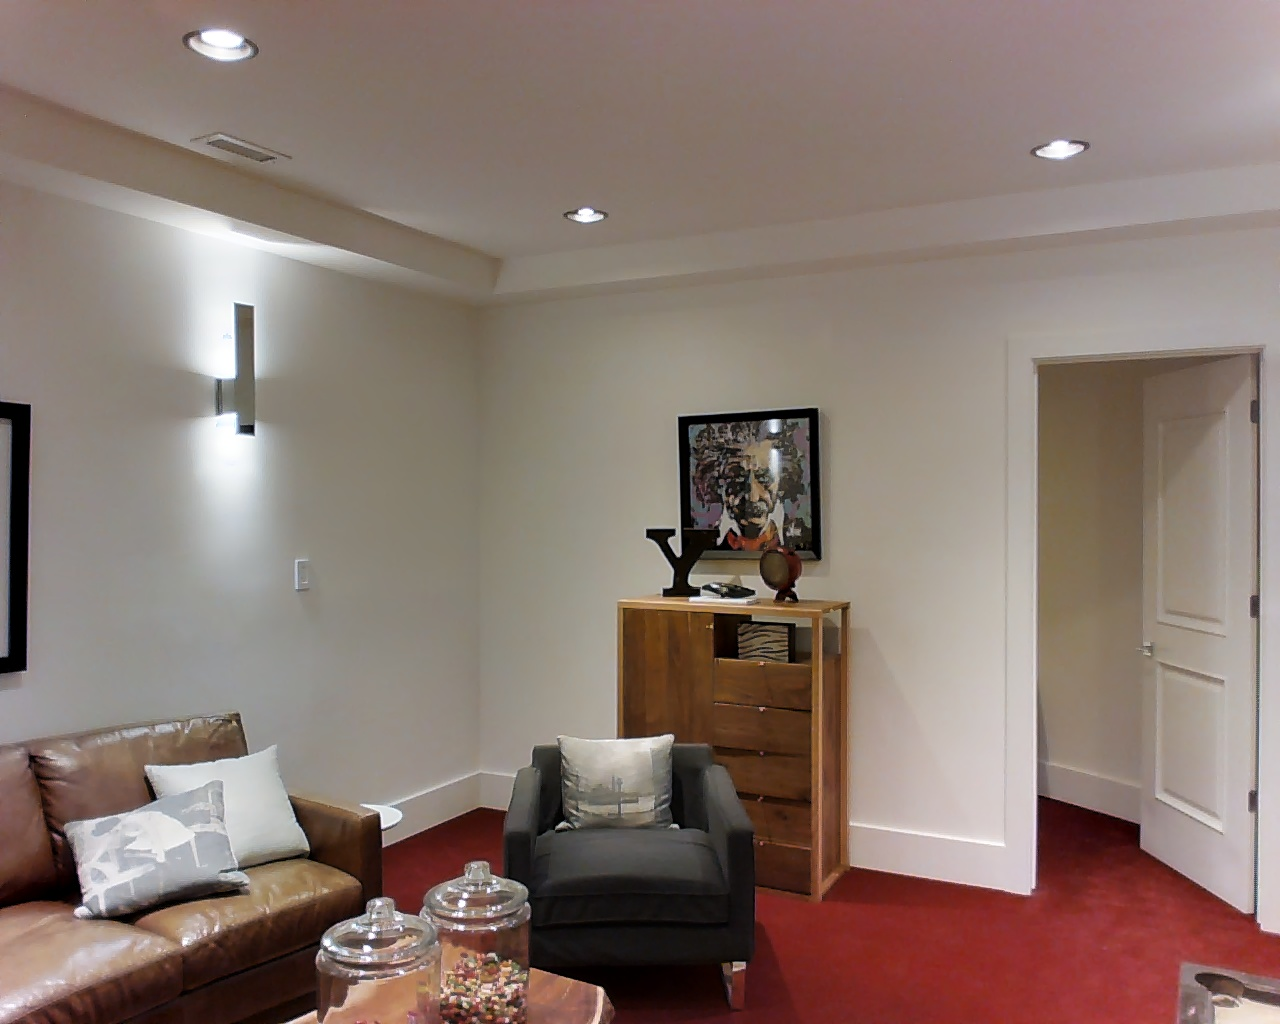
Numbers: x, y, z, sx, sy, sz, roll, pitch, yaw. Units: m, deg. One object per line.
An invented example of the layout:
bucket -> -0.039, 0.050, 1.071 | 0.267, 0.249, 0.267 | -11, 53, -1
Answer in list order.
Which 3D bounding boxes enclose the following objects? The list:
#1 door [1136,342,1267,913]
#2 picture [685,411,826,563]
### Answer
door -> 2.340, 0.440, 4.520 | 0.080, 2.180, 0.850 | 0, 0, -2
picture -> 0.520, -0.110, 4.910 | 0.670, 0.670, 0.060 | 0, 0, 28
